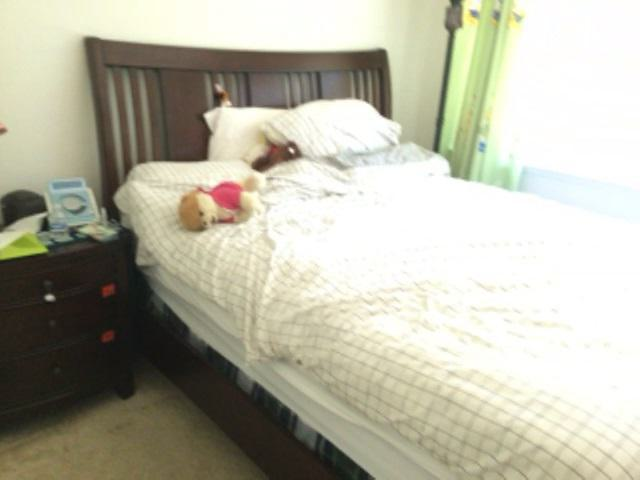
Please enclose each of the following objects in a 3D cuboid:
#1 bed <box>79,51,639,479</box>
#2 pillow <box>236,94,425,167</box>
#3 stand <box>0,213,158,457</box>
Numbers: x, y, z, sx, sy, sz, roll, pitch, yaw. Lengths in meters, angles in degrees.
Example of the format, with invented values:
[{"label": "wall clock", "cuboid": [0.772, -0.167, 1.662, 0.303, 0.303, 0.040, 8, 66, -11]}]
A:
[{"label": "bed", "cuboid": [0.500, 0.030, 2.130, 1.840, 1.310, 2.340, -14, 24, -35]}, {"label": "pillow", "cuboid": [0.060, -0.530, 2.680, 0.790, 0.220, 0.400, -14, 24, -35]}, {"label": "stand", "cuboid": [-1.080, 0.330, 2.190, 0.710, 0.650, 0.500, -14, 24, -35]}]
